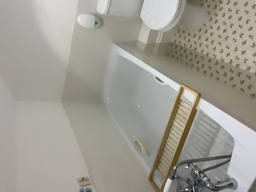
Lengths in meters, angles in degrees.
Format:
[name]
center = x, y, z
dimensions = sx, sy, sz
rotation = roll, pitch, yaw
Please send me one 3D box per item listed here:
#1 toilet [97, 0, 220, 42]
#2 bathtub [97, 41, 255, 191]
[toilet]
center = 0.230, -0.770, 1.790
dimensions = 0.620, 0.760, 0.360
rotation = 43, 124, 53
[bathtub]
center = 0.340, 0.130, 1.700
dimensions = 1.640, 0.550, 0.680
rotation = 44, 124, 52
